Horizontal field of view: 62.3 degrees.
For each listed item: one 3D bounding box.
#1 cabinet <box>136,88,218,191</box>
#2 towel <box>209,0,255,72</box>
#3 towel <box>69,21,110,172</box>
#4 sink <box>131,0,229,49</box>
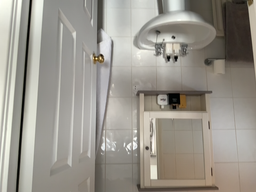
[{"bbox_3d":[0.340,0.300,1.560,0.540,0.700,0.140,0,171,-3],"label":"cabinet"},{"bbox_3d":[0.950,-0.530,1.710,0.480,0.640,0.190,0,171,-5],"label":"towel"},{"bbox_3d":[-0.270,-0.010,1.590,0.260,1.080,0.180,-1,171,0],"label":"towel"},{"bbox_3d":[0.330,-0.500,1.530,0.580,0.160,0.420,0,171,-3],"label":"sink"}]
